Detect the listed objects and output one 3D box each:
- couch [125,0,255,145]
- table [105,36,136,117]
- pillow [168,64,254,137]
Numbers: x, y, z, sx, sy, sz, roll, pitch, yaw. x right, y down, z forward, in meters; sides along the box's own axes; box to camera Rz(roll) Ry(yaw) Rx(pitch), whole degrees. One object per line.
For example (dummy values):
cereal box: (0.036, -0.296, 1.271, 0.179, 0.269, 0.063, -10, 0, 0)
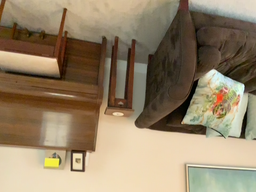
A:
couch: (1.240, -0.050, 2.110, 2.280, 0.860, 1.200, 8, 161, -12)
table: (-0.070, -0.190, 2.090, 0.220, 0.740, 0.220, 8, 161, -12)
pillow: (0.720, 0.030, 1.860, 0.570, 0.460, 0.220, -16, 167, -22)
